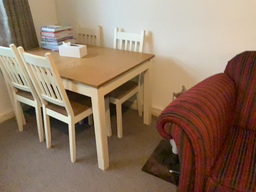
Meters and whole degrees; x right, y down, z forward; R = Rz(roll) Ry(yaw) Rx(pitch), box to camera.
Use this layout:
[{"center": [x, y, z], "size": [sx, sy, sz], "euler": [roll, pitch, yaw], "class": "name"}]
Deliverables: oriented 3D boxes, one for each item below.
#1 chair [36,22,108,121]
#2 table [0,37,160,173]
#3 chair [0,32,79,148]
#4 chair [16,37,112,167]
[{"center": [-0.580, -0.290, 2.380], "size": [0.400, 0.930, 0.510], "euler": [16, 33, 31], "class": "chair"}, {"center": [-0.510, -0.070, 2.150], "size": [1.360, 0.740, 0.900], "euler": [16, 33, 30], "class": "table"}, {"center": [-0.850, -0.080, 2.000], "size": [0.430, 0.900, 0.500], "euler": [19, 32, 33], "class": "chair"}, {"center": [-0.480, 0.020, 1.780], "size": [0.440, 0.890, 0.500], "euler": [19, 32, 33], "class": "chair"}]
